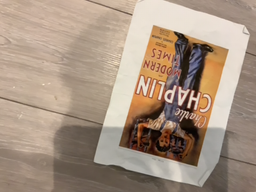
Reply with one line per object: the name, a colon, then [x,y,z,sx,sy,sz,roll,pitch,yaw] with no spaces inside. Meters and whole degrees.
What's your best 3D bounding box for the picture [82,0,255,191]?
picture: [0.080,-0.010,0.370,0.250,0.030,0.310,13,89,-7]
